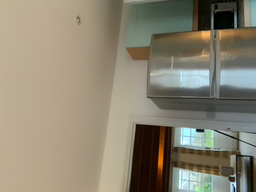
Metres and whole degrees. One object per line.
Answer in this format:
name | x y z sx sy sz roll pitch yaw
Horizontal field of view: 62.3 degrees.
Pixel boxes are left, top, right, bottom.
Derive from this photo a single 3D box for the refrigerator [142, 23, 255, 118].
refrigerator | 1.060 -0.180 1.930 0.720 1.690 0.620 44 -130 -67
